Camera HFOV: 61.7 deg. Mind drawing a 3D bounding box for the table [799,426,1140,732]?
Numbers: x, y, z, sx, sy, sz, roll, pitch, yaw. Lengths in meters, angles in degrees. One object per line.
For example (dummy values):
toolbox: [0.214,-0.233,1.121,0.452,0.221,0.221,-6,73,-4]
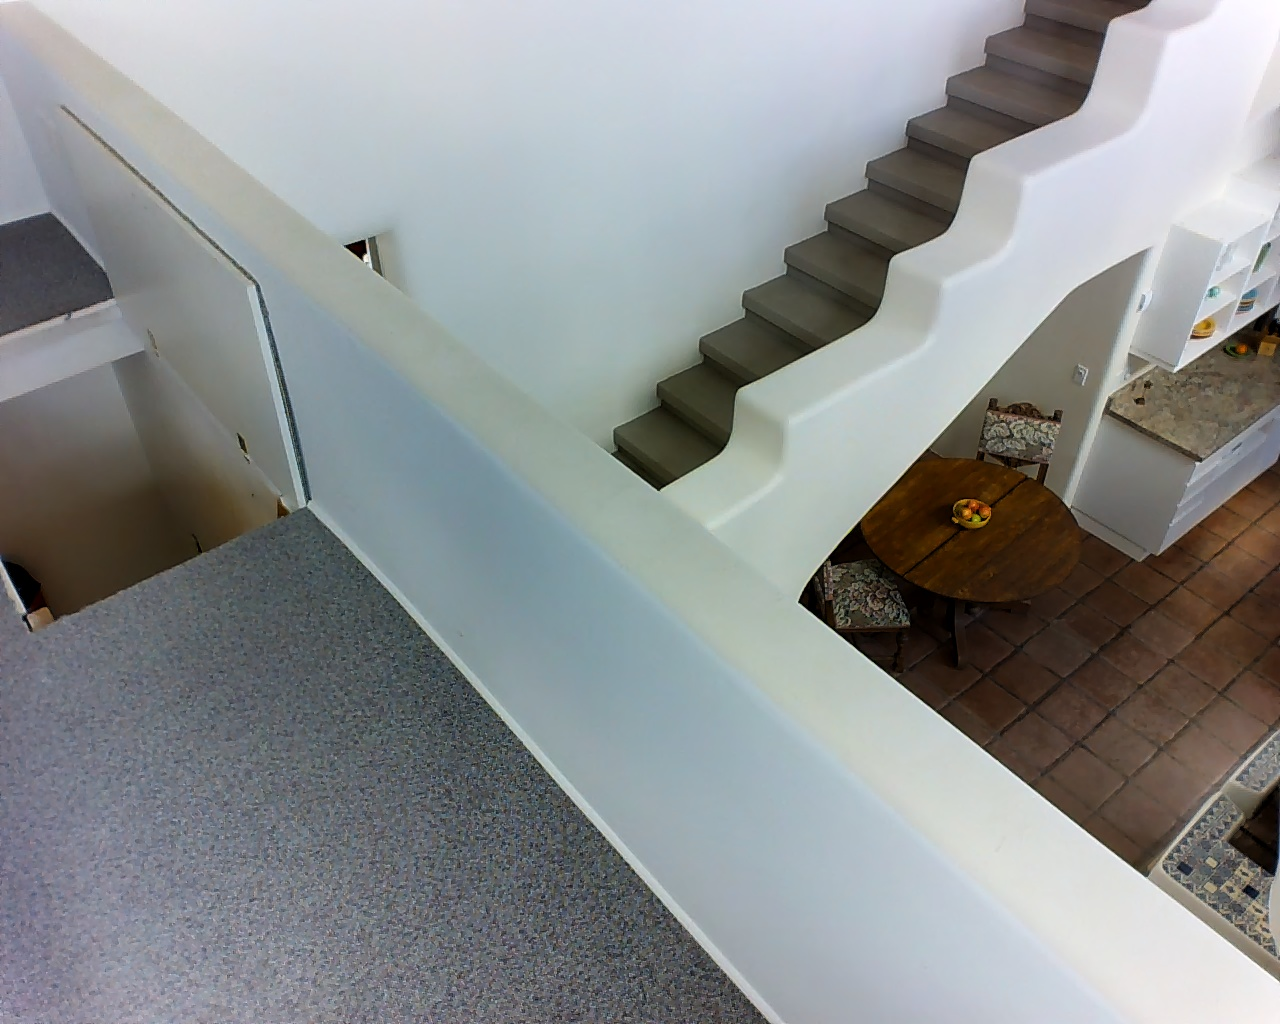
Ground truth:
table: [1.889,0.330,6.290,1.250,0.730,1.330,-30,49,-30]
